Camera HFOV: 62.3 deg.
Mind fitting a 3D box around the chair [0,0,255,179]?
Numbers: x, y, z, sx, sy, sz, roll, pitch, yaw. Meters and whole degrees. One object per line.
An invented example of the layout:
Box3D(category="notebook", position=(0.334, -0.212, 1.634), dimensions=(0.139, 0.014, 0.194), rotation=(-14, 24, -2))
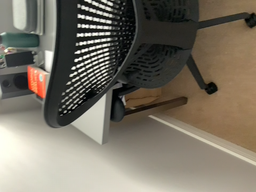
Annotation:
Box3D(category="chair", position=(0.000, -0.330, 0.950), dimensions=(0.760, 1.010, 0.660), rotation=(27, 116, 38))
